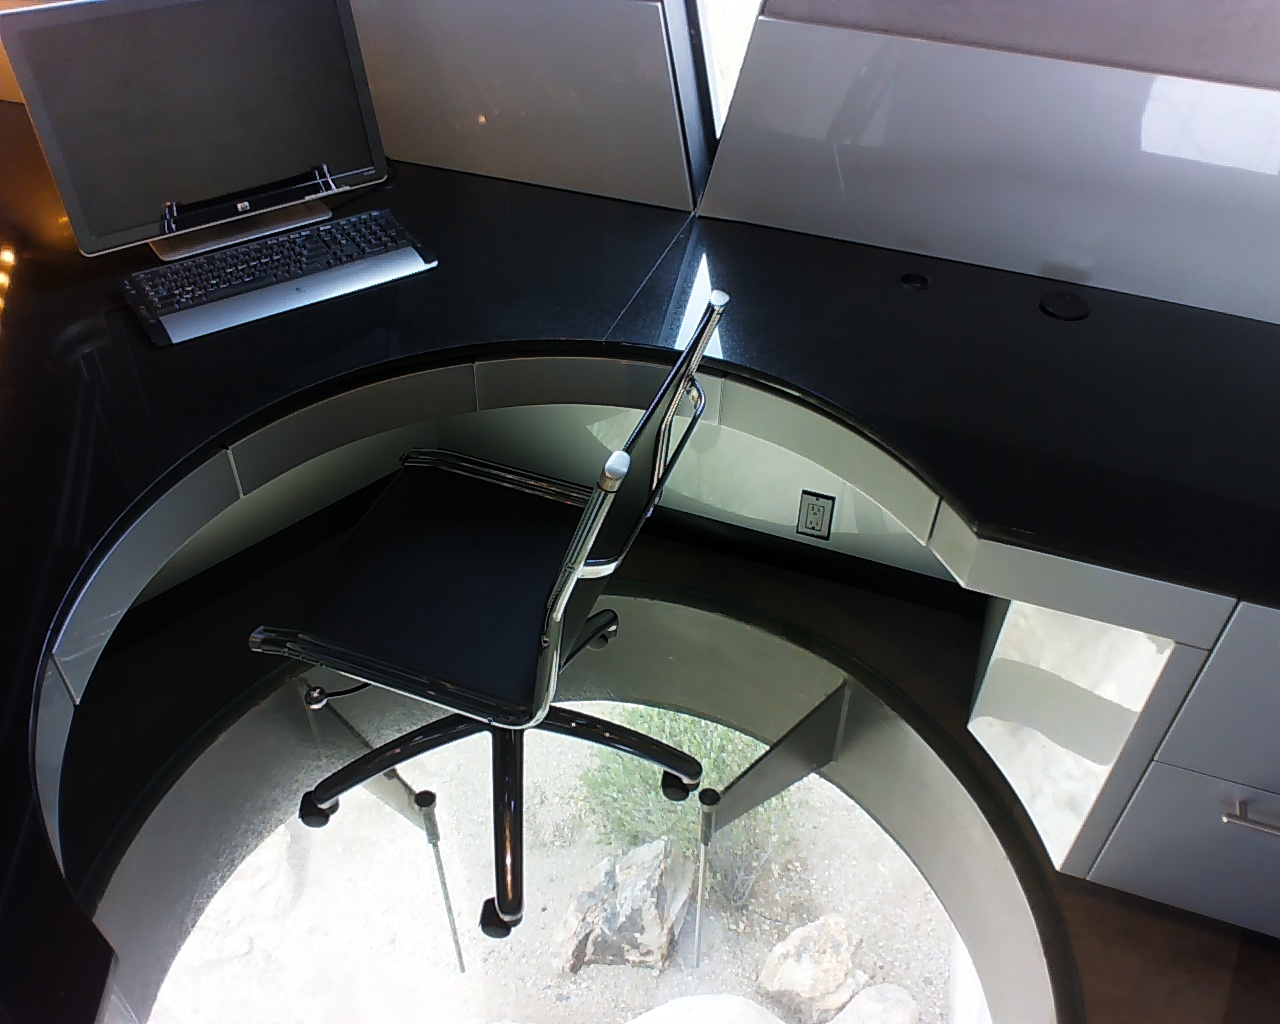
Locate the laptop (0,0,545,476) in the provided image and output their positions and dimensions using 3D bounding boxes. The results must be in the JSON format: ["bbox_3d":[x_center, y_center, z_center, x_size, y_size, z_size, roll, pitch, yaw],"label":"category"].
[{"bbox_3d":[-0.570,-0.480,1.580,0.660,0.410,0.550,-24,52,-27],"label":"laptop"}]

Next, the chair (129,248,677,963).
[{"bbox_3d":[-0.310,0.180,1.760,0.500,0.930,0.610,15,46,9],"label":"chair"}]
